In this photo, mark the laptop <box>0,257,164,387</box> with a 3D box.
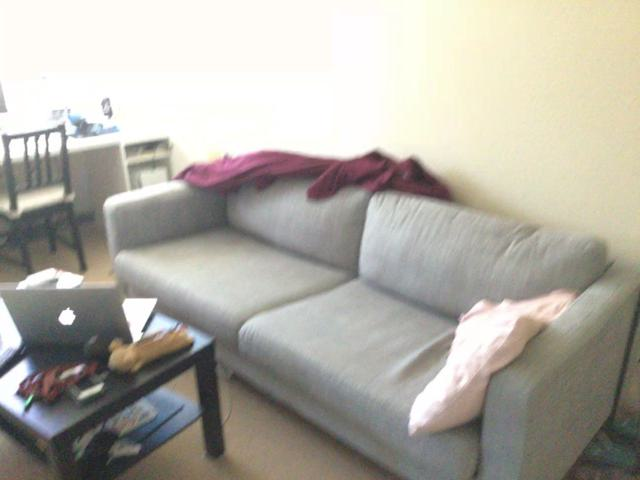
[{"bbox_3d":[-0.750,0.240,1.810,0.390,0.220,0.390,3,22,3],"label":"laptop"}]
